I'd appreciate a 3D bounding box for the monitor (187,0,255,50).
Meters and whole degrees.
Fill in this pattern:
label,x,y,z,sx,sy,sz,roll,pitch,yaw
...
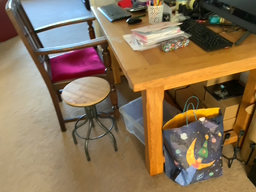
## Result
label,x,y,z,sx,sy,sz,roll,pitch,yaw
monitor,0.490,-0.550,1.050,0.030,0.440,0.580,-3,35,-14
